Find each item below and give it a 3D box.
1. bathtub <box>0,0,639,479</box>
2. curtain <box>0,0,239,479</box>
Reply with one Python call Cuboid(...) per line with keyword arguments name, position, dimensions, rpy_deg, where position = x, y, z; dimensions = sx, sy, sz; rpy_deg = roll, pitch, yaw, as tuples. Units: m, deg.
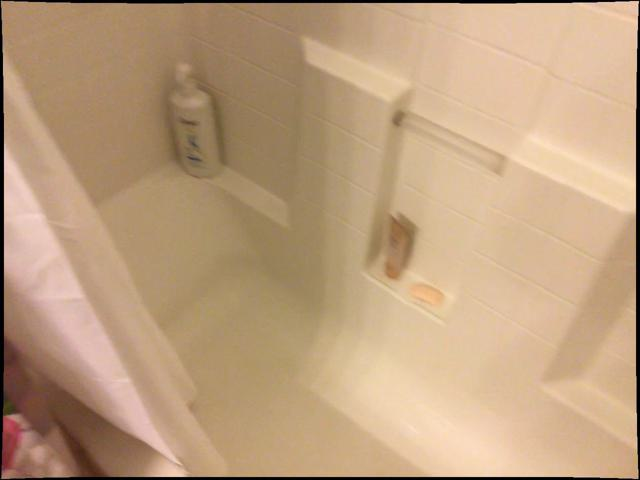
Cuboid(name="bathtub", position=(0.000, 0.261, 1.080), dimensions=(1.459, 0.861, 0.780), rpy_deg=(35, 54, 25))
Cuboid(name="curtain", position=(-0.379, -0.080, 0.540), dimensions=(0.350, 1.792, 0.390), rpy_deg=(35, 54, 25))
